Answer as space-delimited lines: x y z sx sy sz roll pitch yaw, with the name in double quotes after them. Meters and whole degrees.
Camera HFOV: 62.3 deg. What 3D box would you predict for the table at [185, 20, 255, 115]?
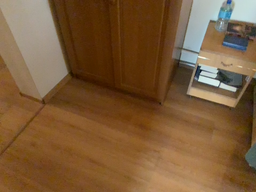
0.780 -0.230 1.750 0.420 0.530 0.440 18 51 15 "table"
